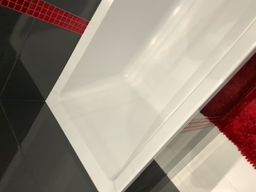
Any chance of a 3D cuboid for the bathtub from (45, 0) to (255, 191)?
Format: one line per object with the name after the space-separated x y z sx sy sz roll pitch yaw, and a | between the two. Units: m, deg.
0.340 -0.360 1.010 0.670 0.570 1.640 49 114 28 | bathtub
